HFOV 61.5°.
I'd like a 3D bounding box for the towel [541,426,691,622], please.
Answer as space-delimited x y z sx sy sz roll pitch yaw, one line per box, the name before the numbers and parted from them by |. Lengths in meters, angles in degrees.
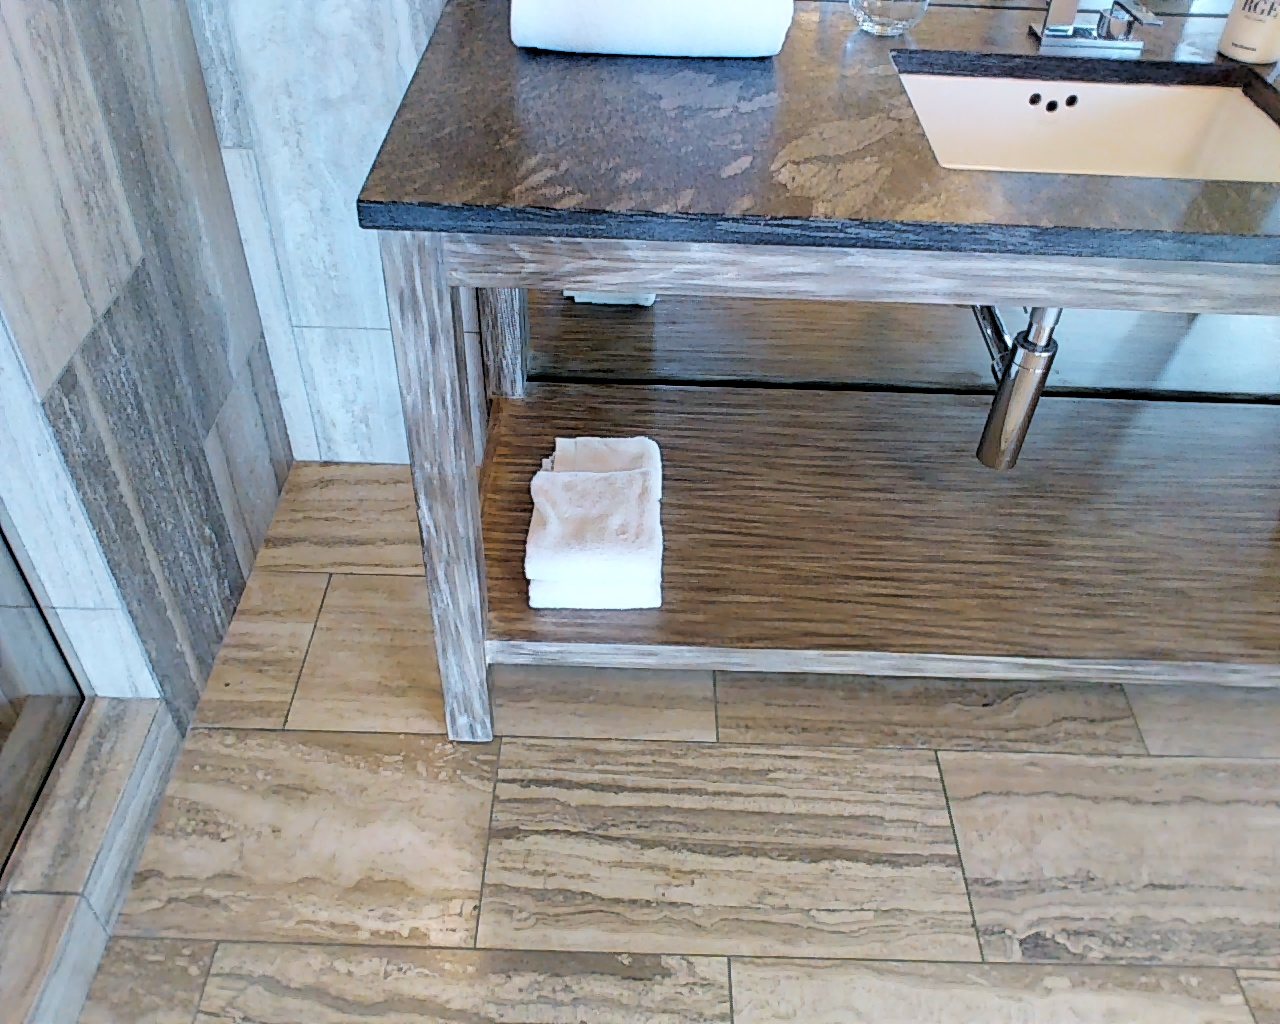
towel | -0.030 0.010 1.500 0.190 0.100 0.290 1 42 0
